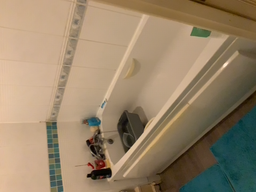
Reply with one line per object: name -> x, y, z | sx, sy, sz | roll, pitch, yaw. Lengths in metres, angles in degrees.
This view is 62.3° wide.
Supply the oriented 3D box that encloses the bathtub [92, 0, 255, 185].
bathtub -> 0.280, 0.000, 1.680 | 1.630, 0.560, 0.720 | -59, 40, 41
